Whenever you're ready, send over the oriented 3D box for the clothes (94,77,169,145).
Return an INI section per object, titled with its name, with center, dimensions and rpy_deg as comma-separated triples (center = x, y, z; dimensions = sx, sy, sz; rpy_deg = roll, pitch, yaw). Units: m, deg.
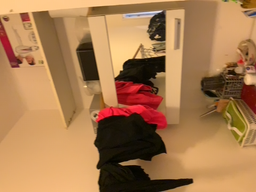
[clothes]
center = 0.030, 0.070, 1.160
dimensions = 0.330, 0.340, 0.220
rpy_deg = -82, -10, -60
